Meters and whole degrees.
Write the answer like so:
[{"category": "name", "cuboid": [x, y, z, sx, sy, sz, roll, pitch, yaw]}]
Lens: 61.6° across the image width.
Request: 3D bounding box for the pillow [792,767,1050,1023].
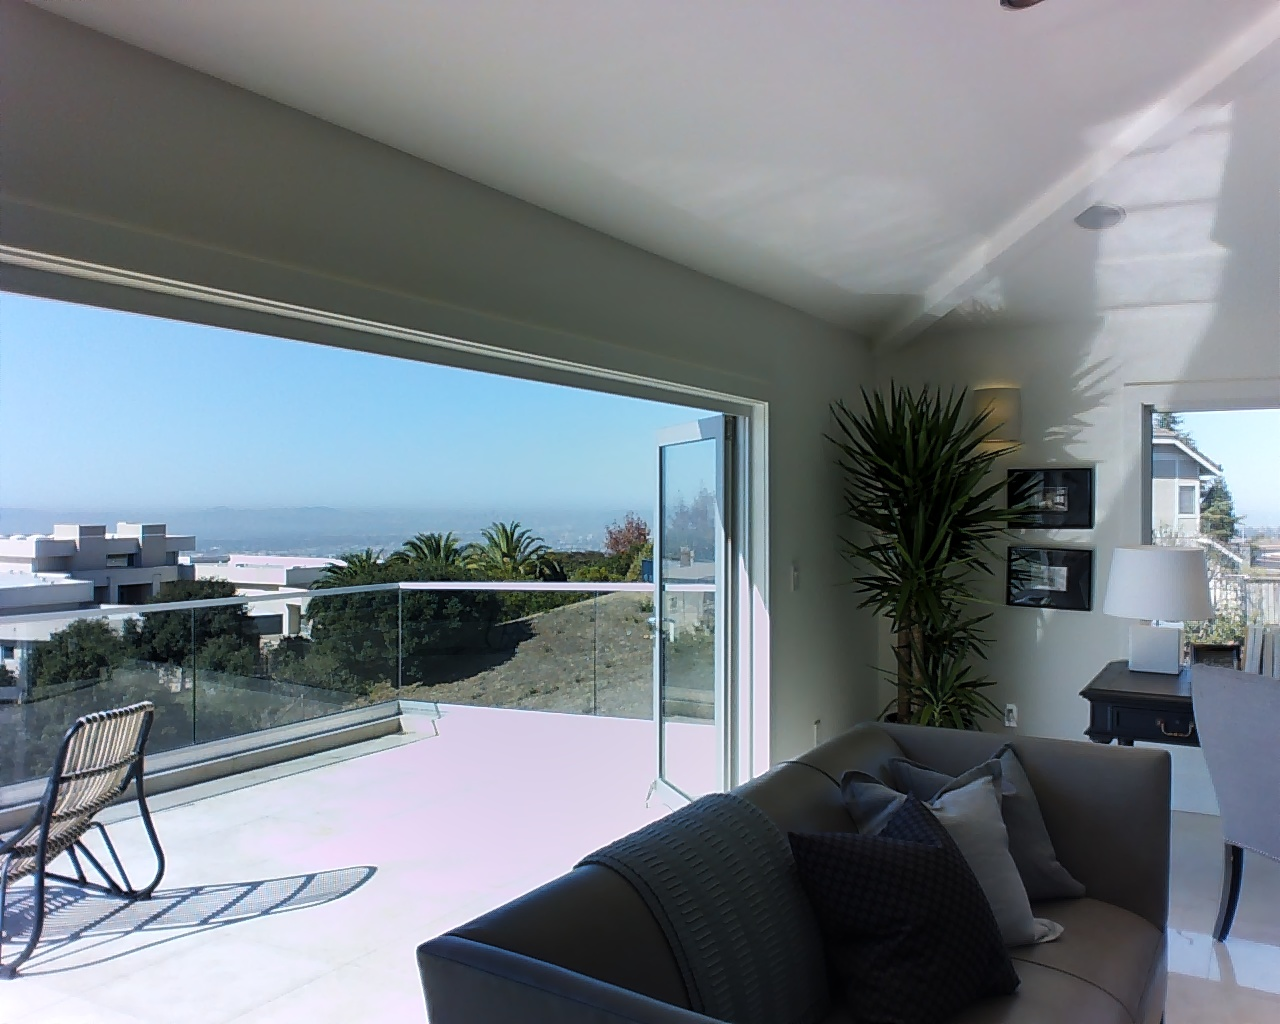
[{"category": "pillow", "cuboid": [0.630, 0.840, 2.350, 0.490, 0.430, 0.280, 29, -27, -35]}]
